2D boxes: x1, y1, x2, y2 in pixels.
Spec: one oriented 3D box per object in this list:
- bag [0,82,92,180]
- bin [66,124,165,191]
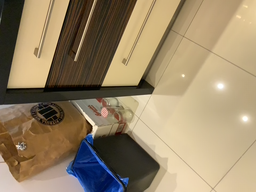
[{"bbox_3d":[-0.580,0.180,1.380,0.510,0.400,0.290,46,121,29],"label":"bag"},{"bbox_3d":[-0.080,0.440,1.350,0.380,0.420,0.290,42,119,31],"label":"bin"}]
